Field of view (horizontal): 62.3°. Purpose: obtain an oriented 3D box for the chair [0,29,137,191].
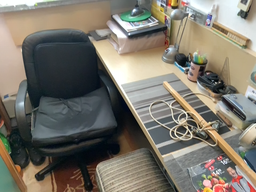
[{"bbox_3d":[-0.380,0.110,1.460,0.630,0.800,0.760,-11,42,-14],"label":"chair"}]
